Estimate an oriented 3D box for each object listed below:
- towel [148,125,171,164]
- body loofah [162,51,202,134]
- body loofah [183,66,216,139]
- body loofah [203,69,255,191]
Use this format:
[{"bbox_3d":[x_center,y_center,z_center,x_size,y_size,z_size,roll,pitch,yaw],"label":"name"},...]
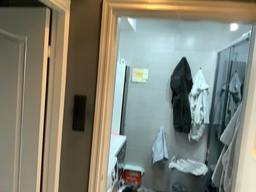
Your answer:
[{"bbox_3d":[0.450,0.700,3.100,0.270,0.500,0.170,6,5,4],"label":"towel"},{"bbox_3d":[0.750,-0.050,2.980,0.410,1.090,0.200,6,5,11],"label":"body loofah"},{"bbox_3d":[0.990,0.090,2.980,0.310,0.980,0.130,6,5,7],"label":"body loofah"},{"bbox_3d":[0.830,0.410,1.810,0.170,1.240,0.360,6,5,8],"label":"body loofah"}]
